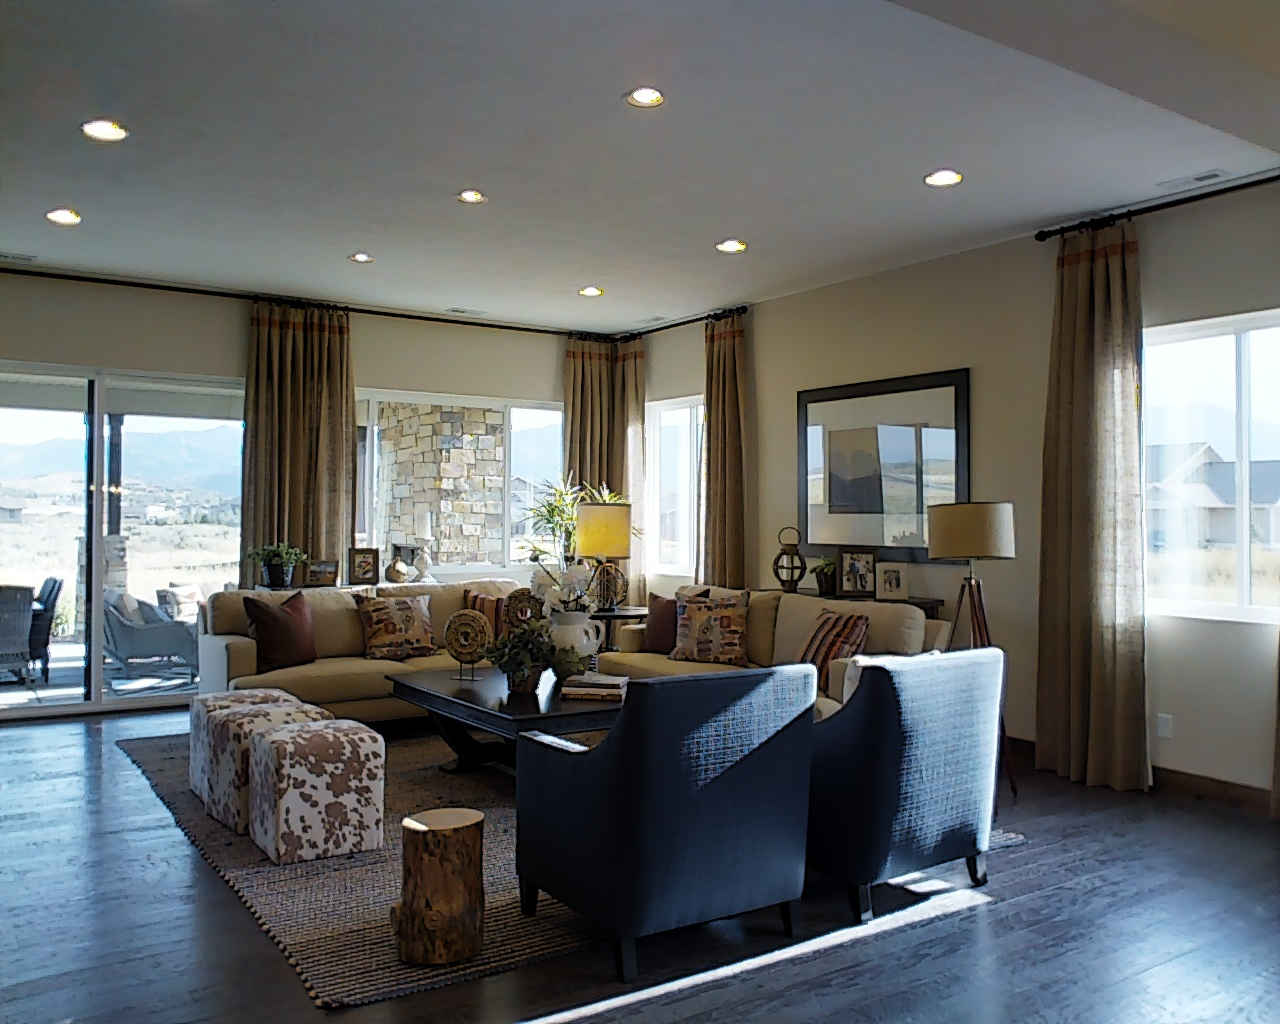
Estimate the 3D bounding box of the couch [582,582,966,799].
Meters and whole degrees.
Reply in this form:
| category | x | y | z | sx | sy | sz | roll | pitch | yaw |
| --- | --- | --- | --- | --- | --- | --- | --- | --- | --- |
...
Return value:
| category | x | y | z | sx | sy | sz | roll | pitch | yaw |
| --- | --- | --- | --- | --- | --- | --- | --- | --- | --- |
| couch | 0.710 | 0.970 | 6.570 | 1.090 | 0.930 | 2.290 | 1 | -1 | -34 |

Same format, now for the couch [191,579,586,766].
| category | x | y | z | sx | sy | sz | roll | pitch | yaw |
| --- | --- | --- | --- | --- | --- | --- | --- | --- | --- |
| couch | -1.620 | 0.960 | 7.040 | 2.280 | 0.930 | 1.100 | 1 | -1 | -34 |

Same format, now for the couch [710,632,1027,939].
| category | x | y | z | sx | sy | sz | roll | pitch | yaw |
| --- | --- | --- | --- | --- | --- | --- | --- | --- | --- |
| couch | 0.880 | 0.980 | 4.170 | 0.890 | 0.900 | 0.820 | 1 | -1 | -37 |
